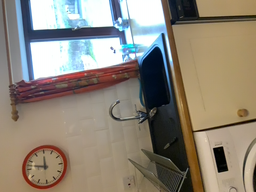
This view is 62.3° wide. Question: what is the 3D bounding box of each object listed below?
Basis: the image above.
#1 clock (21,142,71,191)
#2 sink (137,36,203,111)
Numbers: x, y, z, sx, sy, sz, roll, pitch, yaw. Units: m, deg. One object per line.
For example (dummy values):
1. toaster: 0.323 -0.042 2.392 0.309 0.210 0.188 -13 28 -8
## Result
1. clock: -0.550 0.470 1.430 0.040 0.280 0.270 149 112 -74
2. sink: 0.260 -0.130 1.460 0.420 0.220 0.400 147 114 -74
